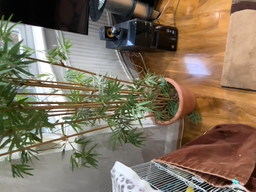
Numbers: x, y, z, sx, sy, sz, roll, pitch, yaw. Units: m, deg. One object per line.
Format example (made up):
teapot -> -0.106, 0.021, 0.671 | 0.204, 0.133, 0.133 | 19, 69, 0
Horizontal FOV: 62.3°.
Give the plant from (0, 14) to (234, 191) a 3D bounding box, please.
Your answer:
plant -> -0.220, 0.020, 1.070 | 0.520, 1.620, 0.540 | 48, 126, 40
